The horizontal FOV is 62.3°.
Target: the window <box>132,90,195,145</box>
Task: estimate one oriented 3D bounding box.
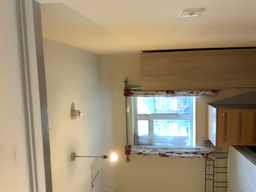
[{"bbox_3d":[0.590,0.360,3.560,0.080,1.030,0.900,-43,-48,-81],"label":"window"}]

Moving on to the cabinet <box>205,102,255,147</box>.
[{"bbox_3d":[1.540,0.370,2.940,0.520,0.790,0.520,-40,-51,-82],"label":"cabinet"}]
